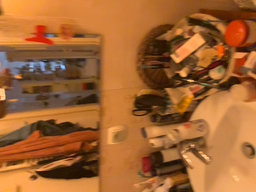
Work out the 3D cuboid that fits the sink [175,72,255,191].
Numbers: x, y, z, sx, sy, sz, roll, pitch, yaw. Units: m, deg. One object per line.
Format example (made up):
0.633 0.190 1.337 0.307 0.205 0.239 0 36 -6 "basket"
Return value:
0.410 0.250 0.760 0.460 0.160 0.550 -135 44 -57 "sink"
